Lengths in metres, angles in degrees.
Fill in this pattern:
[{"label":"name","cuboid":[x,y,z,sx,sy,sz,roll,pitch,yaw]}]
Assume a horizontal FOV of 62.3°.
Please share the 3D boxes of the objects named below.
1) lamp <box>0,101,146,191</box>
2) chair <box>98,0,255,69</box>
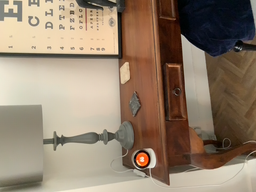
[{"label":"lamp","cuboid":[-0.290,0.200,1.020,0.330,0.660,0.320,164,105,-67]},{"label":"chair","cuboid":[0.390,-0.520,1.010,0.530,0.890,0.560,-116,33,-46]}]
